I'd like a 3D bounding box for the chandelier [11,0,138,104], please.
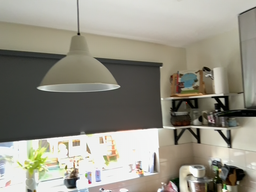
[{"bbox_3d":[-0.310,-0.330,1.000,0.580,0.400,0.470,-61,39,44],"label":"chandelier"}]
